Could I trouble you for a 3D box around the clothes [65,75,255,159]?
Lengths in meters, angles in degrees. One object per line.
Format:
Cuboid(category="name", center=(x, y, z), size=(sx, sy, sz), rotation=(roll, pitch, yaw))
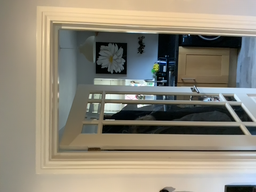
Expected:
Cuboid(category="clothes", center=(0.590, 0.120, 1.660), size=(0.810, 1.950, 0.130), rotation=(-94, 6, -55))
